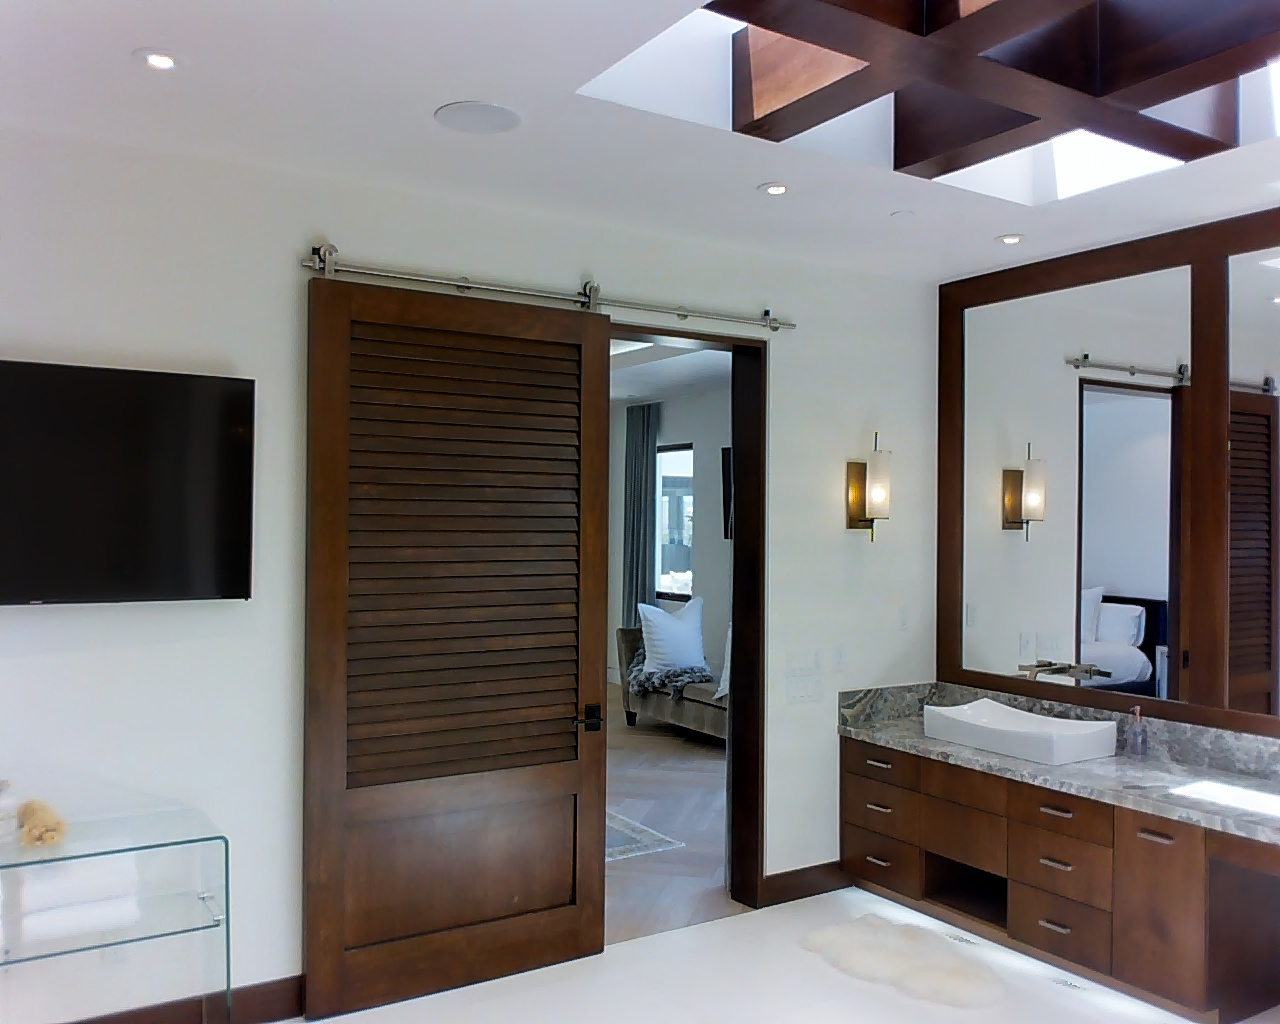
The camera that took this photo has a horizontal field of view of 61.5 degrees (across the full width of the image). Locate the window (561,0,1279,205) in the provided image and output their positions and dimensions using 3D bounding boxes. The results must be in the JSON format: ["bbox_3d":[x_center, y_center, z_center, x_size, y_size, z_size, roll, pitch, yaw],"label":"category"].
[{"bbox_3d":[1.180,-1.310,2.490,1.930,0.390,2.120,0,0,-33],"label":"window"}]
